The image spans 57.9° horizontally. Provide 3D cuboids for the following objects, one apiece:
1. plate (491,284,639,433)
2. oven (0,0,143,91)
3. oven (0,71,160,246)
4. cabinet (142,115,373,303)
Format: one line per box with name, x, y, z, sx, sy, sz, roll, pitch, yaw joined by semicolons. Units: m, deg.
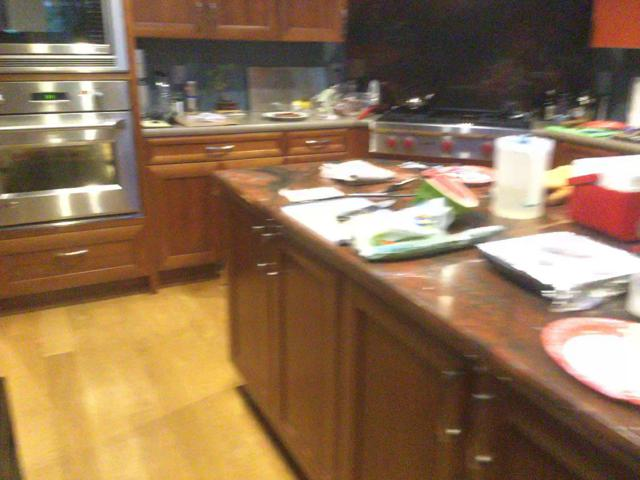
plate;0.440;0.160;0.870;0.240;0.050;0.250;-10;23;-26
oven;-1.220;-0.970;2.450;0.810;0.620;0.220;-10;23;-26
oven;-1.220;-0.380;2.620;0.860;0.700;0.230;-10;23;-26
cabinet;-0.290;-0.200;3.220;1.260;0.880;0.140;-10;23;-26
